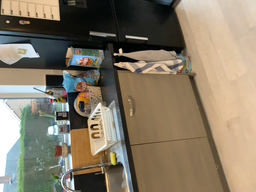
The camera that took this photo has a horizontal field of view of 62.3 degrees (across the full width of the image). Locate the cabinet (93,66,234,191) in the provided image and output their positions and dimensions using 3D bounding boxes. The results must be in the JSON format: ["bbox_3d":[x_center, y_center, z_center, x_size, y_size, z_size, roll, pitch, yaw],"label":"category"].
[{"bbox_3d":[0.290,0.630,1.860,0.600,0.890,1.630,136,129,-57],"label":"cabinet"}]
